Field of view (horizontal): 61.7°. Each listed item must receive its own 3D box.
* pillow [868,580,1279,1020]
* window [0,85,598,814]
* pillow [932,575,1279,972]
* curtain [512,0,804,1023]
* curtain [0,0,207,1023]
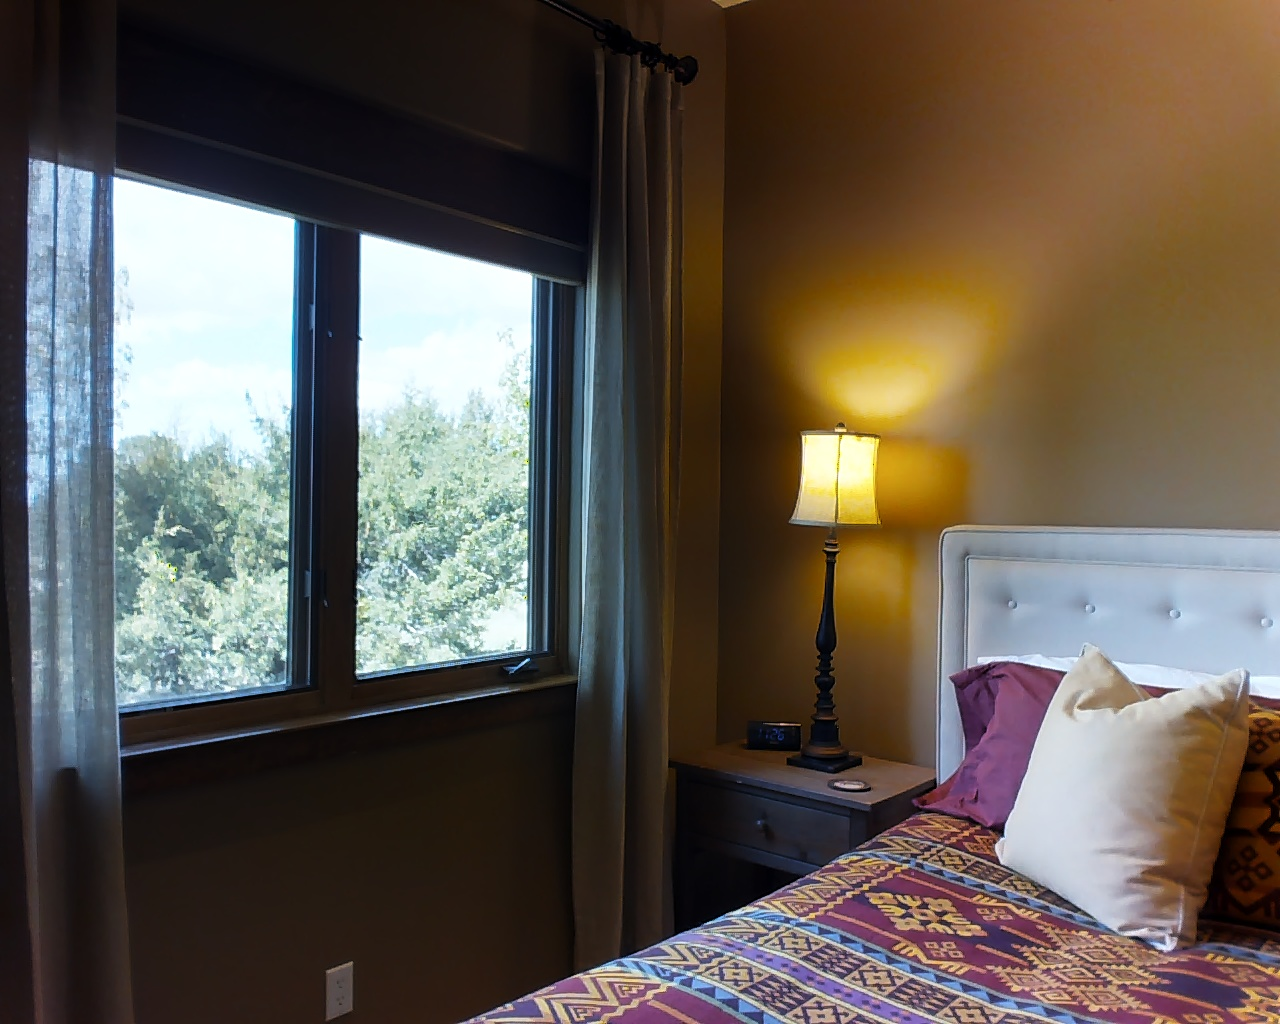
[{"bbox_3d":[1.030,0.560,2.270,0.970,0.450,0.270,29,18,36],"label":"pillow"},{"bbox_3d":[-0.700,-0.100,2.490,0.150,1.270,1.600,1,0,40],"label":"window"},{"bbox_3d":[0.900,0.470,2.040,0.300,0.500,0.540,12,13,-18],"label":"pillow"},{"bbox_3d":[0.080,-0.050,3.090,0.340,2.931,0.830,1,0,40],"label":"curtain"},{"bbox_3d":[-1.060,0.040,1.720,0.230,2.731,0.610,1,0,40],"label":"curtain"}]
